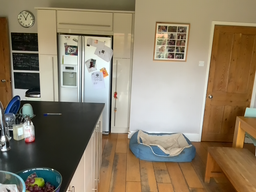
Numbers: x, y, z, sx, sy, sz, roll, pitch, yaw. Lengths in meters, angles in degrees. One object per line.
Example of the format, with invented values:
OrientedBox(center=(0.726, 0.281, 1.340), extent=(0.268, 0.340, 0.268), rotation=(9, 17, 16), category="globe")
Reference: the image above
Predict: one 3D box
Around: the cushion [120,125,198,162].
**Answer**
OrientedBox(center=(0.420, 0.710, 3.300), extent=(1.050, 0.200, 0.790), rotation=(3, 12, -1), category="cushion")

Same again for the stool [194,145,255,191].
OrientedBox(center=(1.080, 0.940, 1.900), extent=(0.510, 0.450, 1.280), rotation=(3, 12, -1), category="stool")
